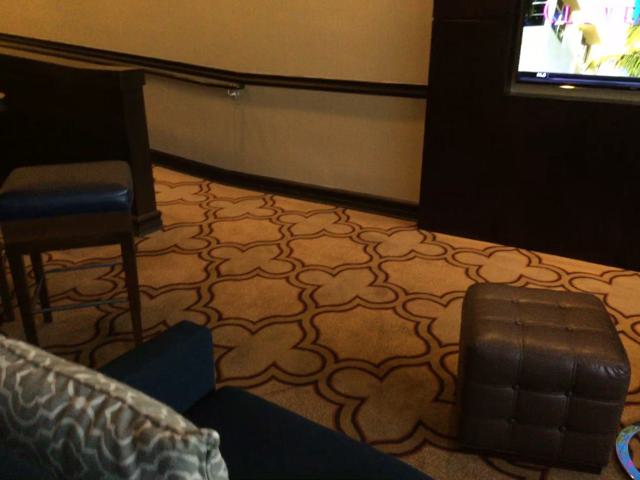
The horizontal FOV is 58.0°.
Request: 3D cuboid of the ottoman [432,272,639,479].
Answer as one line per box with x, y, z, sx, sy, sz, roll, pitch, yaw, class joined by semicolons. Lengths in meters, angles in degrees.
0.710;0.460;2.010;0.590;0.450;0.600;4;22;11;ottoman
